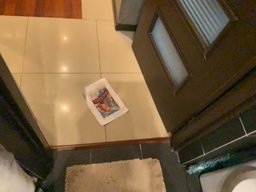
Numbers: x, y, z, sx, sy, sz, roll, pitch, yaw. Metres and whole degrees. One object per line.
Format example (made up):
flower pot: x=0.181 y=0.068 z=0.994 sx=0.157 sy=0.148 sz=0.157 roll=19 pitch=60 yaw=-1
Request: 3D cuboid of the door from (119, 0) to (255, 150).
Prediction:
door: x=0.350 y=-0.560 z=0.560 sx=0.100 sy=2.180 sz=0.910 roll=-13 pitch=67 yaw=-19
